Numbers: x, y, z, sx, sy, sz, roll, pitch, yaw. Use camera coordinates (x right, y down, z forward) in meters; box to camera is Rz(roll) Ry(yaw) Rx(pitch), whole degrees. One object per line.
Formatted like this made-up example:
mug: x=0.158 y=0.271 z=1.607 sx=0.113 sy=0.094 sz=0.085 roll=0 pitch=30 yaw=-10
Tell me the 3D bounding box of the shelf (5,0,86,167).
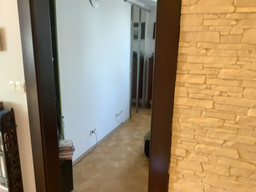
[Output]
shelf: x=-0.760 y=-0.370 z=2.070 sx=0.400 sy=1.990 sz=0.530 roll=8 pitch=16 yaw=23
